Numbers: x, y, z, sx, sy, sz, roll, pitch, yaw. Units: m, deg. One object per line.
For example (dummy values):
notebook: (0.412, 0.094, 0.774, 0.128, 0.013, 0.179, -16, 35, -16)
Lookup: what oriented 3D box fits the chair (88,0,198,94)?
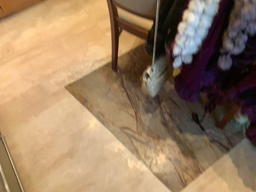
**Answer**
chair: (0.120, -0.540, 1.210, 0.420, 0.960, 0.530, 28, 65, 17)
